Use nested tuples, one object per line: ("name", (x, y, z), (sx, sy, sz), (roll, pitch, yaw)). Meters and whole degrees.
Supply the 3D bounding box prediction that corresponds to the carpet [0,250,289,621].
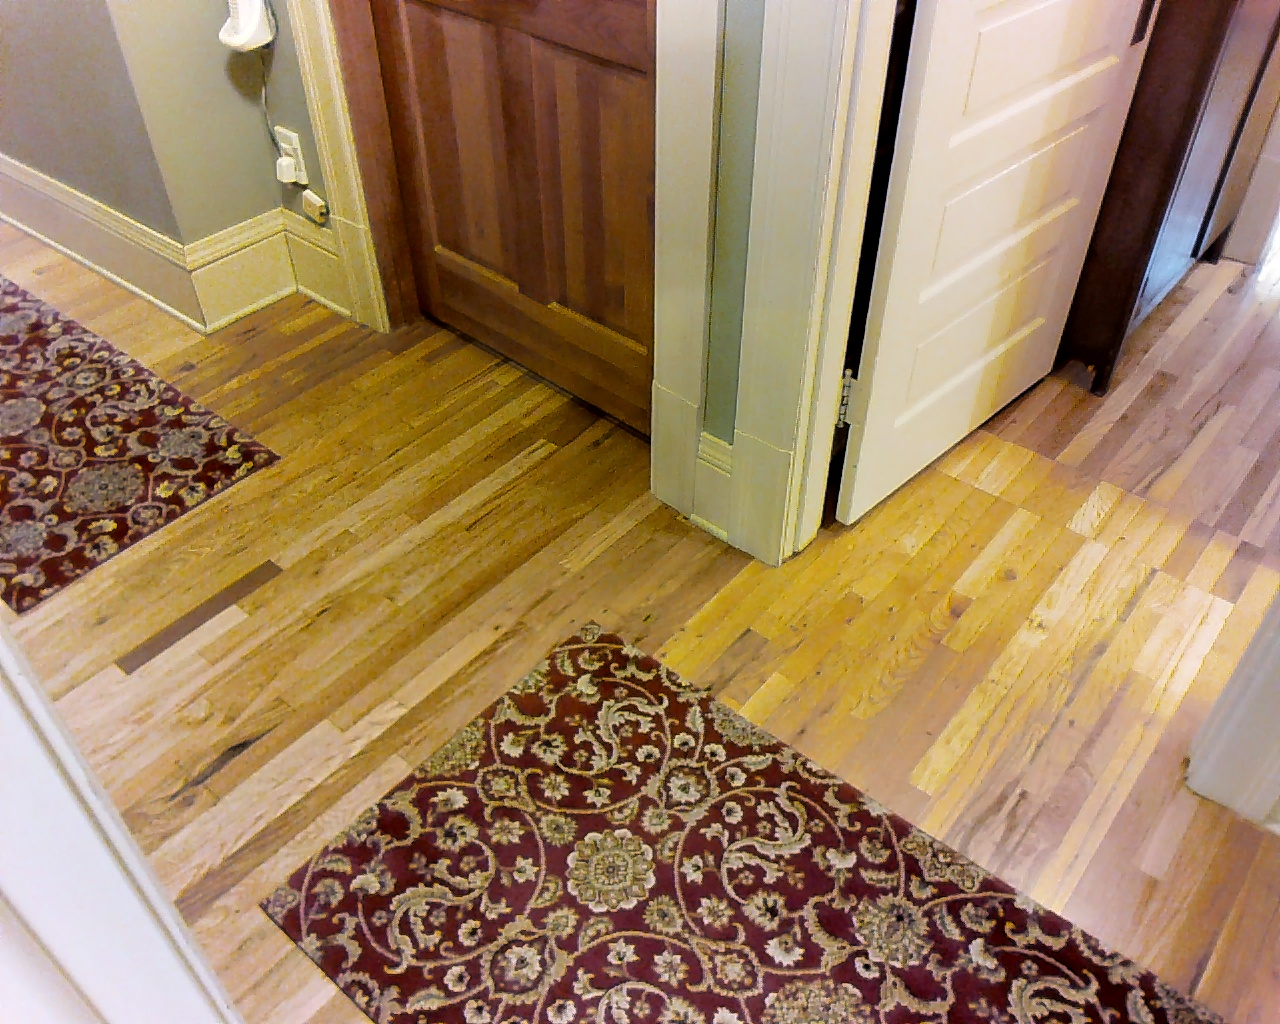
("carpet", (-1.970, -0.510, 2.860), (2.490, 0.030, 0.690), (30, 50, 29))
